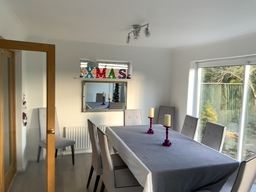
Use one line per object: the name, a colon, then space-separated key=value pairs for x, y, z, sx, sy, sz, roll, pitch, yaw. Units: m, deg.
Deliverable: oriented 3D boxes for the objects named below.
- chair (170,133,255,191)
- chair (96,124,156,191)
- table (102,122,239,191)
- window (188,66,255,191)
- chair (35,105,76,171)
chair: x=0.800 y=0.970 z=1.980 sx=0.510 sy=1.050 sz=0.630 roll=-2 pitch=6 yaw=-39
chair: x=-0.050 y=0.910 z=2.560 sx=0.580 sy=1.030 sz=0.480 roll=0 pitch=5 yaw=-18
table: x=0.370 y=1.000 z=3.100 sx=1.110 sy=0.800 sz=1.970 roll=0 pitch=5 yaw=-18
window: x=1.820 y=0.500 z=3.470 sx=0.120 sy=1.930 sz=2.520 roll=0 pitch=5 yaw=-19
chair: x=-1.380 y=0.740 z=4.010 sx=0.670 sy=1.050 sz=0.470 roll=6 pitch=7 yaw=43
